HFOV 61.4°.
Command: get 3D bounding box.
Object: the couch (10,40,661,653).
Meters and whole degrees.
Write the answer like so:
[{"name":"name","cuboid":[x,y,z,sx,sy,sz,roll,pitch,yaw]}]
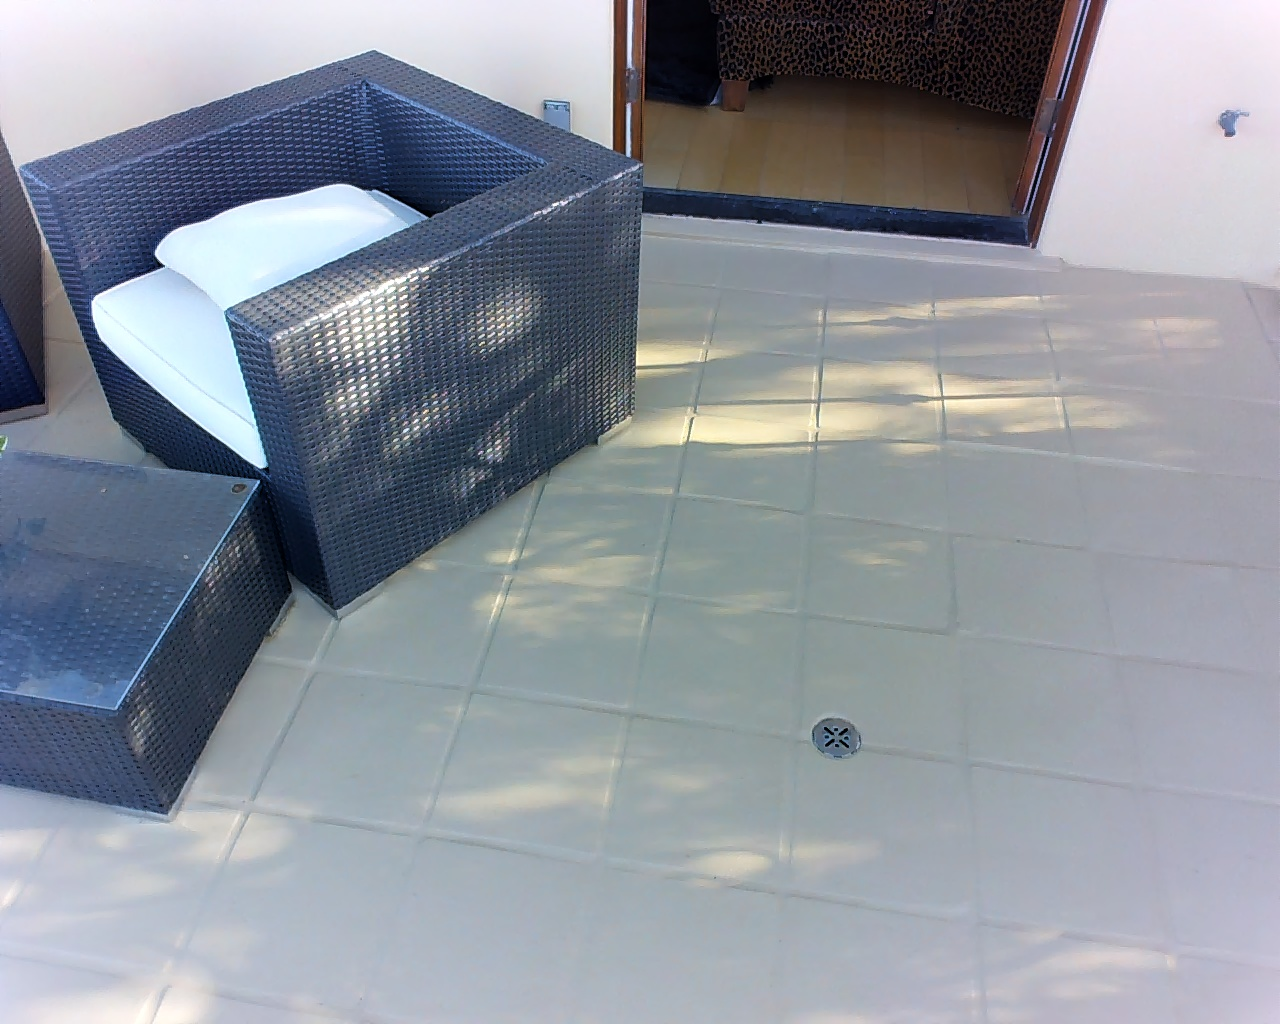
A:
[{"name":"couch","cuboid":[-0.580,-0.410,2.300,0.870,0.720,0.870,33,52,29]}]
